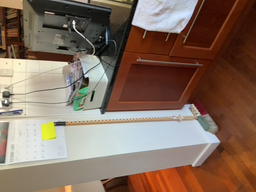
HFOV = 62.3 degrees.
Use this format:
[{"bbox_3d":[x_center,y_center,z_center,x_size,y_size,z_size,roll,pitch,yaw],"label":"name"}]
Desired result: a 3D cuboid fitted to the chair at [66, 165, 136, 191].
[{"bbox_3d":[-0.410,1.420,3.100,0.470,0.840,0.500,62,143,43],"label":"chair"}]
